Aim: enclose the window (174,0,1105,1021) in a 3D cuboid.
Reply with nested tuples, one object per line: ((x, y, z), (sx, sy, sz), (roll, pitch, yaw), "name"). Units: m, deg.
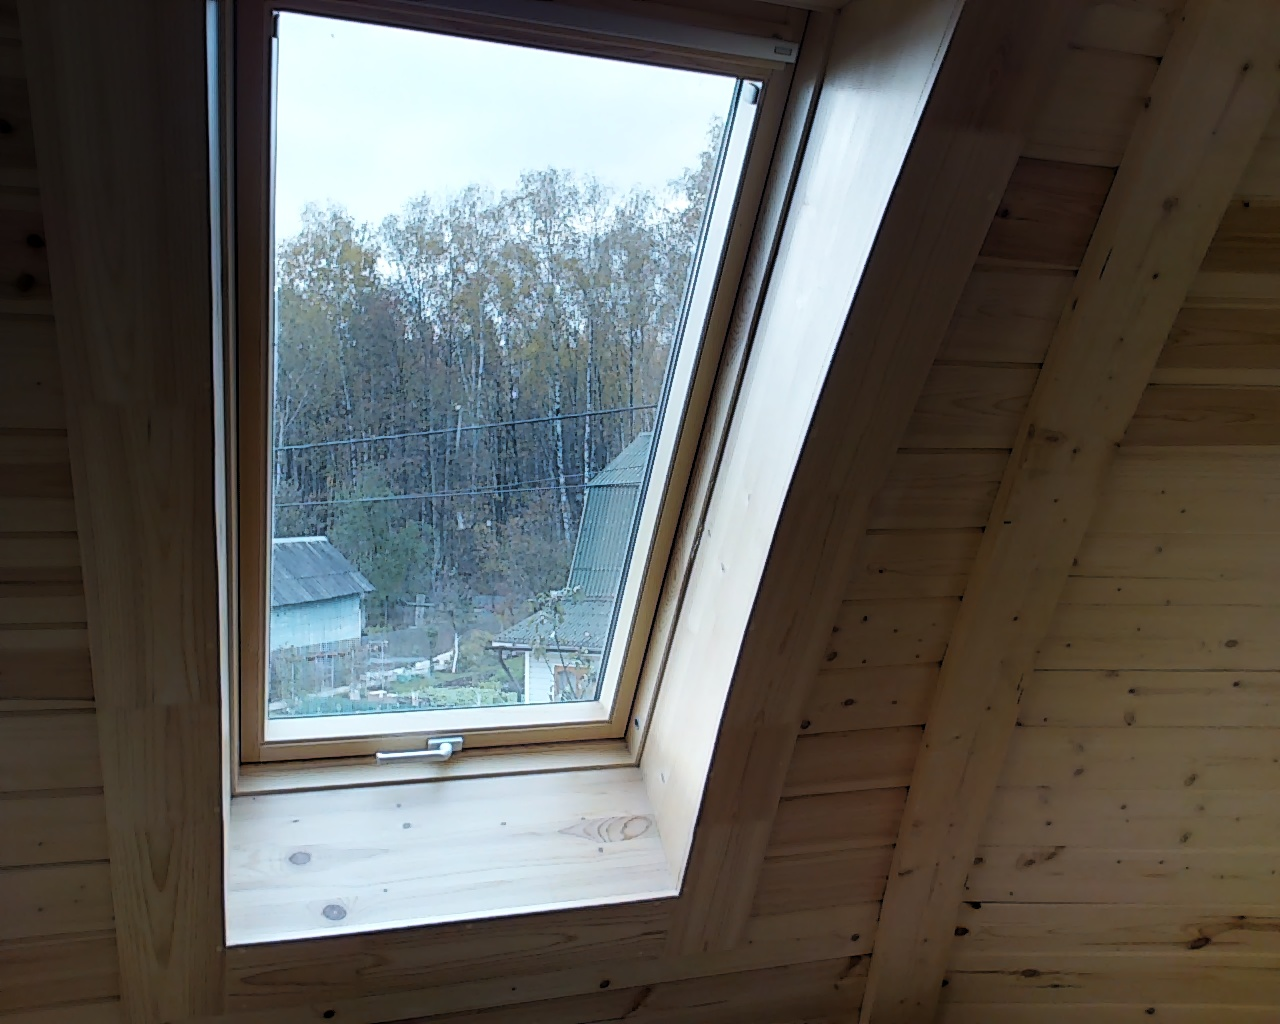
((-0.160, -0.070, 1.460), (0.850, 0.500, 1.560), (1, -56, -22), "window")
